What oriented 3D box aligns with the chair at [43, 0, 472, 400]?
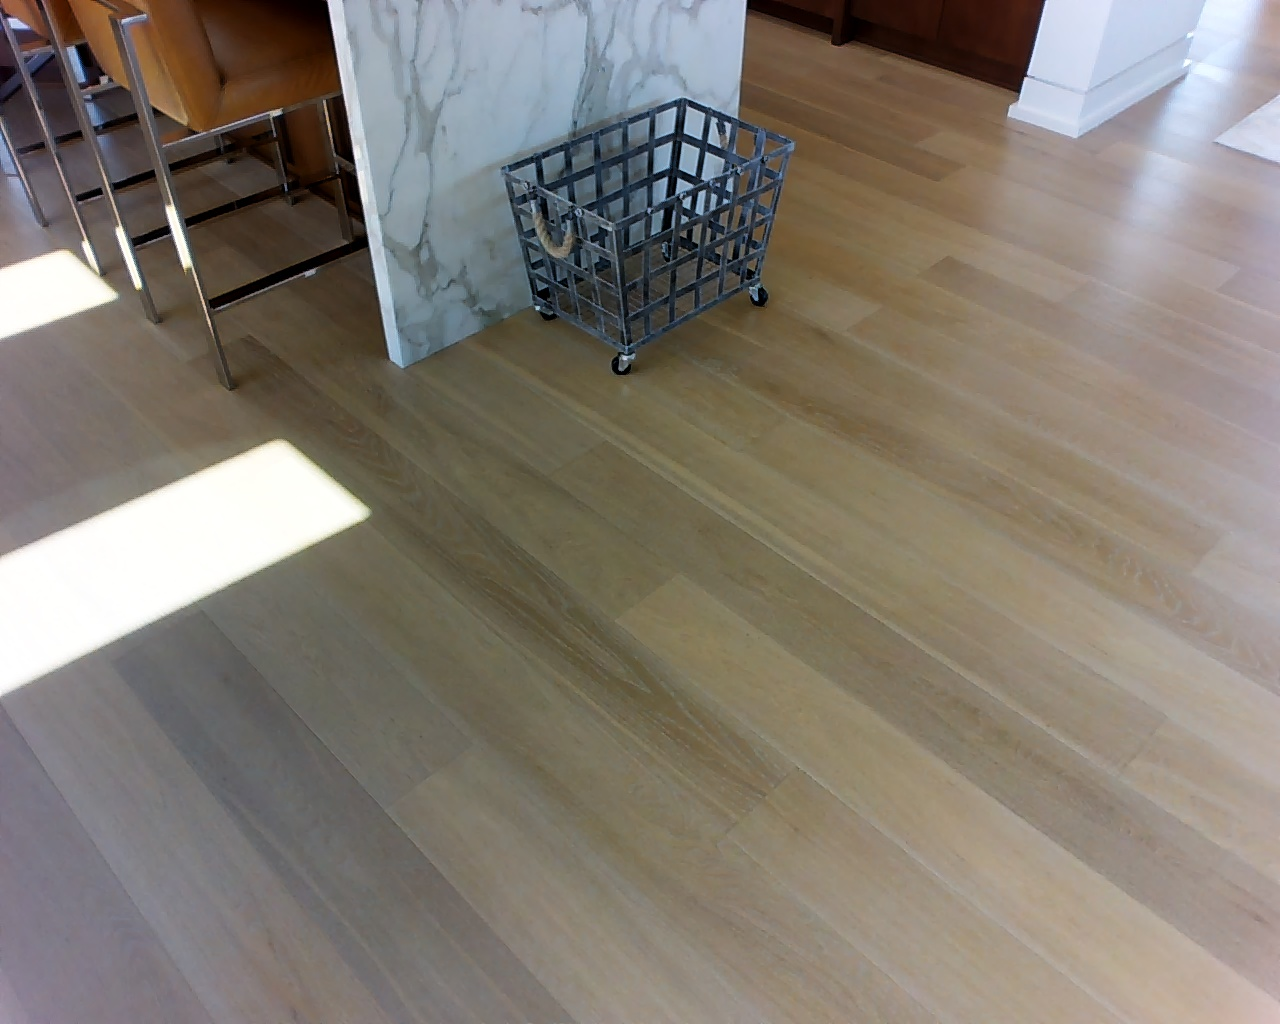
[{"bbox_3d":[-0.890,-0.950,2.570,0.660,1.050,0.550,-33,52,-31],"label":"chair"}]
